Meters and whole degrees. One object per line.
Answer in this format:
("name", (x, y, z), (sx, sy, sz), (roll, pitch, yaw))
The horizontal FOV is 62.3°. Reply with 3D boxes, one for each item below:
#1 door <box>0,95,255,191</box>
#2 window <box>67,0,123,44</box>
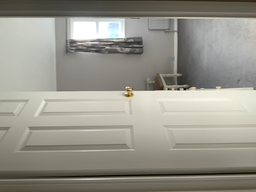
("door", (0.120, 0.260, 1.190), (0.750, 1.990, 0.120), (-93, 4, -54))
("window", (-0.630, -1.920, 4.170), (0.220, 1.060, 1.730), (-133, 43, -87))
